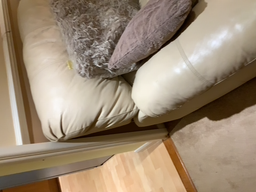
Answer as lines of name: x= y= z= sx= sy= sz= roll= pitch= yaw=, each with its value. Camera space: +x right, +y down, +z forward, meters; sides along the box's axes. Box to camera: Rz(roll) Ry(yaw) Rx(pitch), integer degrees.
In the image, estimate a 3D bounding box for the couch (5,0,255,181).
couch: x=0.070 y=-0.340 z=1.120 sx=1.040 sy=0.980 sz=1.020 roll=-45 pitch=57 yaw=37
